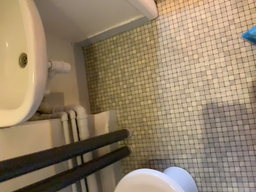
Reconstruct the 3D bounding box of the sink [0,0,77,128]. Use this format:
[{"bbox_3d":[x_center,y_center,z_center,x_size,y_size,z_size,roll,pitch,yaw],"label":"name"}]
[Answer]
[{"bbox_3d":[-0.440,-0.150,0.810,0.410,0.170,0.520,-10,85,27],"label":"sink"}]
